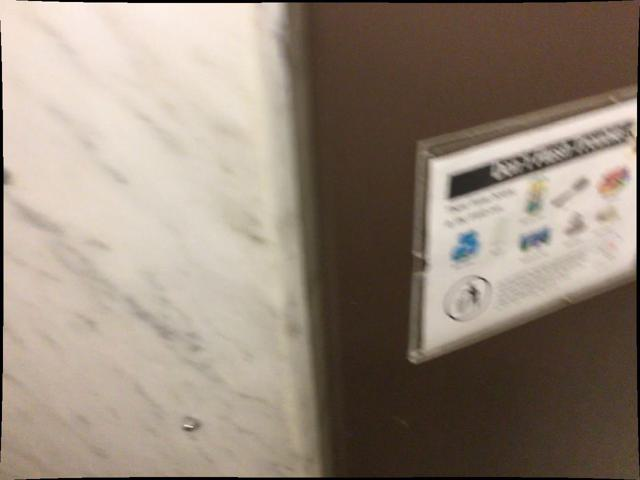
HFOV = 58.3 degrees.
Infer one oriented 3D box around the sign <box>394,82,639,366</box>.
[{"bbox_3d":[0.230,-0.020,0.580,0.330,0.250,0.020,-14,34,-20],"label":"sign"}]
